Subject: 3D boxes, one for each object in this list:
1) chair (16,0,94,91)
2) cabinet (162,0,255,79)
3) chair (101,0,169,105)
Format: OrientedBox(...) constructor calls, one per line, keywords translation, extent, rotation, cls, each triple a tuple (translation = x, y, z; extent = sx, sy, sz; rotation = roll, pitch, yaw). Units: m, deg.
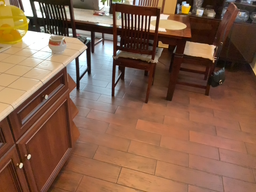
OrientedBox(translation=(-0.770, -0.680, 2.450), extent=(0.580, 1.010, 0.540), rotation=(11, 34, 8), cls="chair")
OrientedBox(translation=(1.290, -1.230, 2.930), extent=(1.310, 1.730, 0.480), rotation=(12, 34, 9), cls="cabinet")
OrientedBox(translation=(0.060, -0.510, 2.330), extent=(0.560, 1.010, 0.530), rotation=(11, 34, 8), cls="chair")
